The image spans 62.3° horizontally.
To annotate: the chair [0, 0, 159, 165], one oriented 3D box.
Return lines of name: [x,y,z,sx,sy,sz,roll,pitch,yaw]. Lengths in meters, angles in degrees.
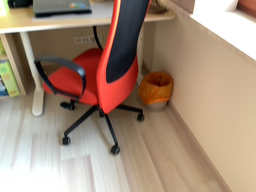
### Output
chair: [-0.260,-0.310,1.290,0.700,1.290,0.570,16,41,18]
